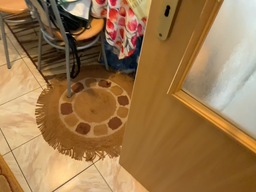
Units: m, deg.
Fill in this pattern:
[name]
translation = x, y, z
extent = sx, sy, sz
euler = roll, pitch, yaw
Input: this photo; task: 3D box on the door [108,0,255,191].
[door]
translation = 0.390, 0.080, 0.370
extent = 0.980, 2.060, 0.040
euler = 37, 58, 17
